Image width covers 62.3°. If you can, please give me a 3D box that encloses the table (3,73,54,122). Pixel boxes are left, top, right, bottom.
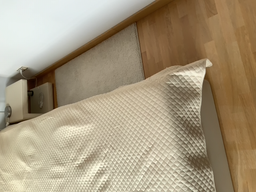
[{"bbox_3d":[-1.110,0.040,2.350,0.460,0.330,0.420,-16,76,37],"label":"table"}]
